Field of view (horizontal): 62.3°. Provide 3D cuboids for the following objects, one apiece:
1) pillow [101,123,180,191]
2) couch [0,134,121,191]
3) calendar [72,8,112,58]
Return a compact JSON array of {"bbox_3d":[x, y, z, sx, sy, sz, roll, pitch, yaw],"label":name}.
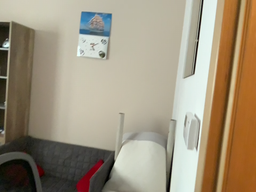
[{"bbox_3d":[0.120,0.640,2.050,0.620,0.410,0.170,42,10,6],"label":"pillow"},{"bbox_3d":[-0.800,0.910,2.210,1.240,0.690,0.770,6,4,12],"label":"couch"},{"bbox_3d":[-0.410,-0.720,2.420,0.420,0.540,0.040,6,4,11],"label":"calendar"}]
